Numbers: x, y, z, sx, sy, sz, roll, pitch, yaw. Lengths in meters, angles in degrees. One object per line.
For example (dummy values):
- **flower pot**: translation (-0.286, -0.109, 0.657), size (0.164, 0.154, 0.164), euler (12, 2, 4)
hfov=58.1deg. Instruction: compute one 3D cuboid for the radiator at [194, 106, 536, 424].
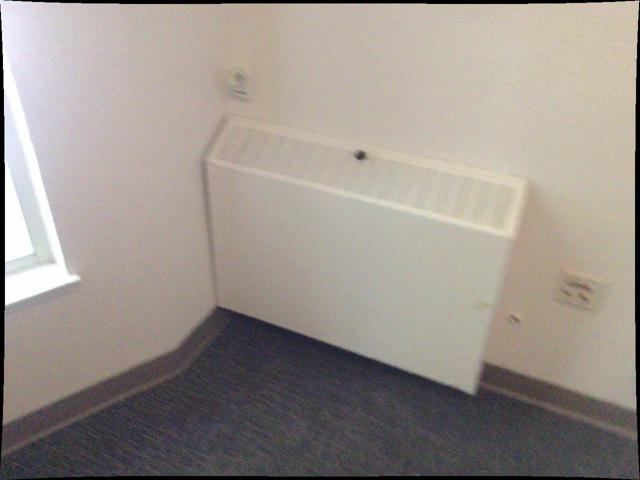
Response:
- **radiator**: translation (0.080, 0.080, 1.820), size (0.939, 0.781, 0.200), euler (17, 37, 18)
